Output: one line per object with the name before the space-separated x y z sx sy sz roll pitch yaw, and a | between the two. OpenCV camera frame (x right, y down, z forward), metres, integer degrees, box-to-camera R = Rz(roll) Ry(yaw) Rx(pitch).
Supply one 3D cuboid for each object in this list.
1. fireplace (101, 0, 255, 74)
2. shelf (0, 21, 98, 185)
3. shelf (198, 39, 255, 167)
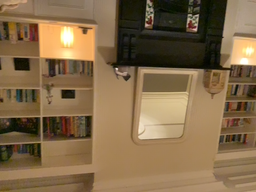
fireplace | 0.600 -1.020 2.670 1.760 1.350 0.580 1 -168 -14
shelf | -1.110 0.100 2.710 1.330 1.910 0.440 0 -167 -16
shelf | 2.180 0.120 3.580 1.700 1.950 0.430 0 -167 -16
